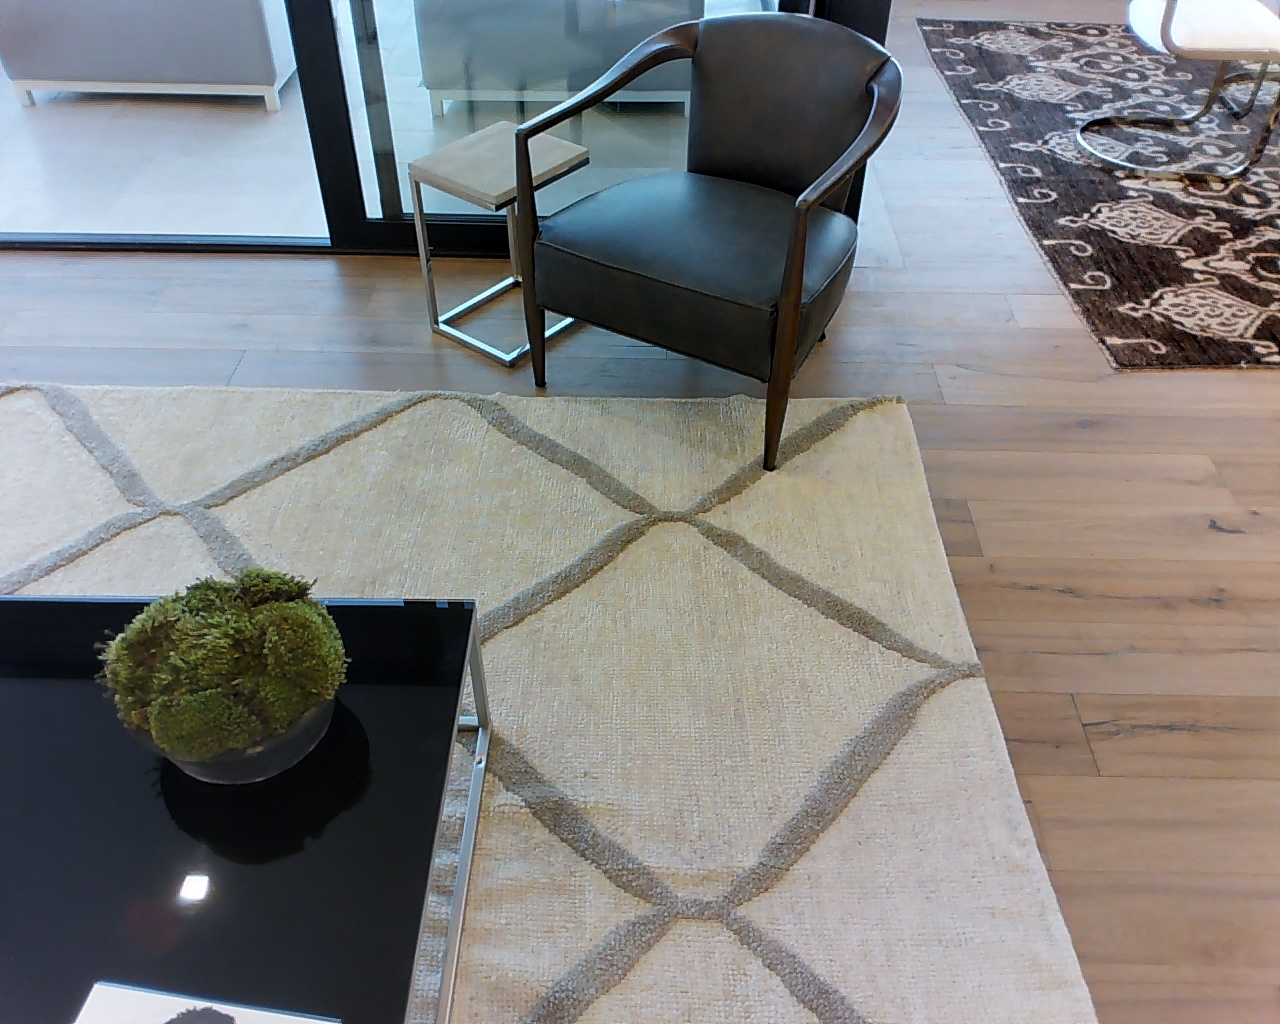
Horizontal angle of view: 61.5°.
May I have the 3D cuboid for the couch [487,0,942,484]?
[{"bbox_3d":[0.190,-0.720,2.600,0.700,0.800,0.840,20,45,20],"label":"couch"}]
